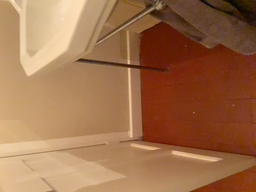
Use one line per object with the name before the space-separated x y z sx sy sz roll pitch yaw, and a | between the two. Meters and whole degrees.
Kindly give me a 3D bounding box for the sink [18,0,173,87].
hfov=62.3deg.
sink | -0.190 -0.300 0.660 0.680 0.170 0.460 -9 82 54
